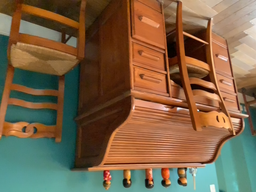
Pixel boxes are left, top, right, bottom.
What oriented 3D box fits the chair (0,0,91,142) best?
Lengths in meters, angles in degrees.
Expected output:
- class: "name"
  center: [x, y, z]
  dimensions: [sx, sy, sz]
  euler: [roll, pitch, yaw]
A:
- class: "chair"
  center: [-0.560, -0.200, 1.430]
  dimensions: [0.430, 0.940, 0.480]
  euler: [11, 157, -33]
